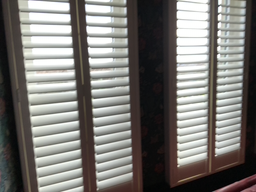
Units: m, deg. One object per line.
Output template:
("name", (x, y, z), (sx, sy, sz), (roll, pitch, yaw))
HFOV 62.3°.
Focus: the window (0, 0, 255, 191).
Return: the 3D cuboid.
("window", (0.390, -0.140, 1.400), (2.520, 1.550, 0.200), (-7, 11, -27))
